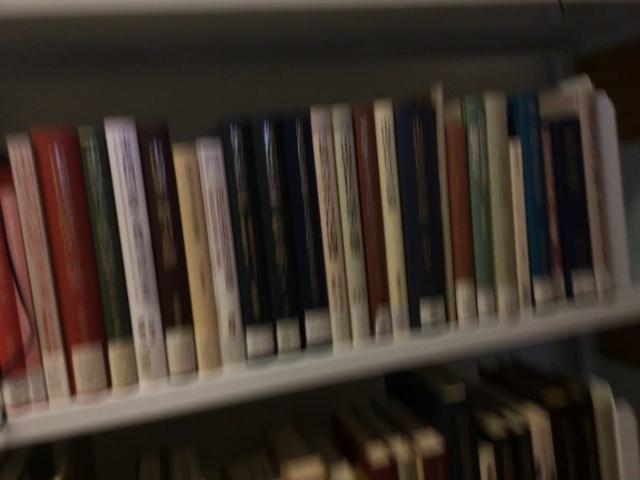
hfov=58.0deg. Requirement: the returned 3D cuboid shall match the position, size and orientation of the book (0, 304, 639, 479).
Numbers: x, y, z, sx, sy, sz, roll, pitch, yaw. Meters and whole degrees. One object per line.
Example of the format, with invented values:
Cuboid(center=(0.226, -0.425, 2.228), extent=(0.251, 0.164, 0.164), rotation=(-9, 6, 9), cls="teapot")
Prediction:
Cuboid(center=(0.070, 0.300, 0.660), extent=(0.900, 0.300, 0.220), rotation=(-6, 5, -16), cls="book")
